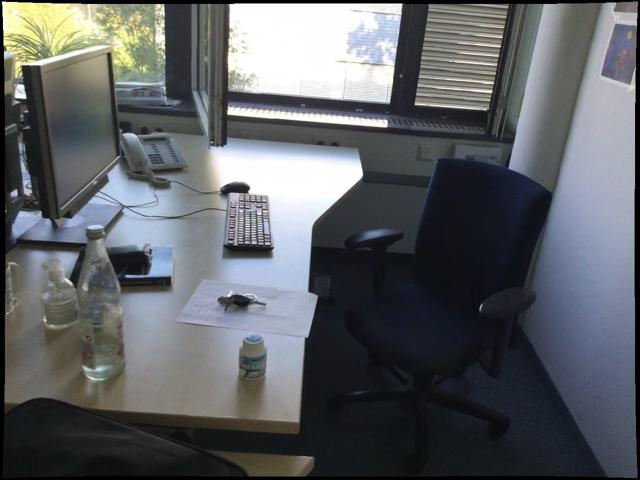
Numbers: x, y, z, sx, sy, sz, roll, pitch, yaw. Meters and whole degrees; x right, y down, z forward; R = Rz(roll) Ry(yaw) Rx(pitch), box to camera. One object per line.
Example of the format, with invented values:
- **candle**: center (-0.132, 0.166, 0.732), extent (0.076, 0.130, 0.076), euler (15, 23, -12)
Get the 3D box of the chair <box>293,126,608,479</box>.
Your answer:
- **chair**: center (0.400, 0.170, 2.050), extent (0.650, 0.921, 0.710), euler (-18, 33, -38)
